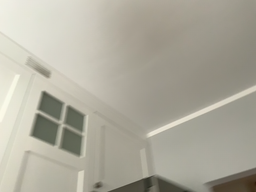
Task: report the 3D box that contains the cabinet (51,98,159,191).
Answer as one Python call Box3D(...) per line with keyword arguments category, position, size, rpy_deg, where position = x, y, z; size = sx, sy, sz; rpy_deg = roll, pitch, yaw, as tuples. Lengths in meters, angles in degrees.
Box3D(category="cabinet", position=(-0.130, 0.480, 1.520), size=(0.360, 0.620, 0.640), rpy_deg=(-30, -47, 25))
